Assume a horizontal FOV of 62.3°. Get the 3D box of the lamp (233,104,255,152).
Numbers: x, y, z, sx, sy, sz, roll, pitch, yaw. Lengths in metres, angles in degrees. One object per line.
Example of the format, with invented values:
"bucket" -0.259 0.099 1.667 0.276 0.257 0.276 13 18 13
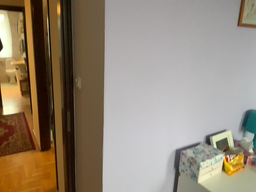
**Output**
"lamp" 0.990 0.240 1.640 0.210 0.290 0.190 -7 18 -33
